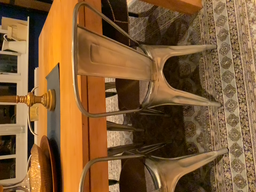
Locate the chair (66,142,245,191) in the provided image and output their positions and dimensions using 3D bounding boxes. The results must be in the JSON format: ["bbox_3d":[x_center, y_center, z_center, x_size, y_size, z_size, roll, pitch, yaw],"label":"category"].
[{"bbox_3d":[0.130,0.450,1.060,0.490,0.740,0.340,-15,76,57],"label":"chair"}]

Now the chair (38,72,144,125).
[{"bbox_3d":[-0.320,0.050,1.790,0.490,0.740,0.340,-15,76,57],"label":"chair"}]

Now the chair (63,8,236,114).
[{"bbox_3d":[0.100,-0.100,1.120,0.490,0.740,0.340,-15,76,57],"label":"chair"}]
